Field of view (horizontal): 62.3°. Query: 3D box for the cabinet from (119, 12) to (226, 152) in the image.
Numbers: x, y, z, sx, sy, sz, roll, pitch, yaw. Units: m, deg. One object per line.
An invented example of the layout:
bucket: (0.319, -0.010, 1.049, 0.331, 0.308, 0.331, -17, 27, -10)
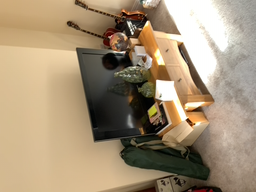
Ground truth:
cabinet: (0.370, -0.180, 2.300, 0.610, 0.420, 1.360, -55, 44, 49)

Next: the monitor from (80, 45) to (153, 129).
monitor: (-0.140, -0.120, 2.150, 0.040, 0.600, 0.960, 124, 141, -49)

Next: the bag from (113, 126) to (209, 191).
bag: (0.300, 0.620, 2.050, 0.320, 0.730, 0.510, -59, 41, 46)
